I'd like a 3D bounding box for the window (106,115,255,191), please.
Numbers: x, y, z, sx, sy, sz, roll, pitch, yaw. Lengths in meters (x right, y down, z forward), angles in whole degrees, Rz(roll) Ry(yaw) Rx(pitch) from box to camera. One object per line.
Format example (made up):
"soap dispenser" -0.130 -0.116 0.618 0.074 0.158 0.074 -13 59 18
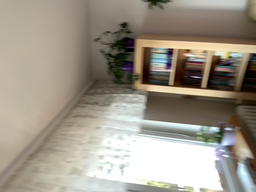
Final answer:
"window" 0.420 0.660 1.640 1.560 1.050 0.200 -67 -19 -65

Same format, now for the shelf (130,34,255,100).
"shelf" 1.040 -0.340 2.500 0.330 2.000 0.620 -69 -18 -63
